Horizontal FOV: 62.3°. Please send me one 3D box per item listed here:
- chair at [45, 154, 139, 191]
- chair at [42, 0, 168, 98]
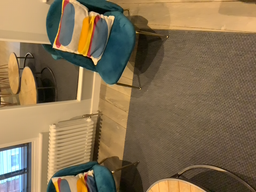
[{"bbox_3d":[-0.370,1.030,2.220,0.710,0.670,0.630,-14,84,49],"label":"chair"},{"bbox_3d":[-0.250,-0.500,1.890,0.760,0.680,0.630,52,130,32],"label":"chair"}]
